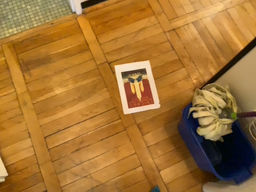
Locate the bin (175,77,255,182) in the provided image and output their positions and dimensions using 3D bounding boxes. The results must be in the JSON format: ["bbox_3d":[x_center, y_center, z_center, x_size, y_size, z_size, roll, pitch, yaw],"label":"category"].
[{"bbox_3d":[0.410,0.160,0.970,0.190,0.300,0.370,-16,74,-8],"label":"bin"}]
